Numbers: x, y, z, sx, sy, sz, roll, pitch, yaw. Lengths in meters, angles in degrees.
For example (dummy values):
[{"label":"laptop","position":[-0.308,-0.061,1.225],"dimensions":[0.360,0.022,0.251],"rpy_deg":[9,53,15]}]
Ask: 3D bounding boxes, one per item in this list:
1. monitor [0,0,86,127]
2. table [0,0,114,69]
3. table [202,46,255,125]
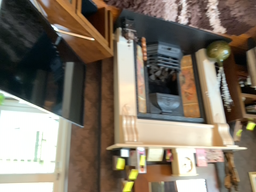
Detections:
[{"label":"monitor","position":[-0.480,-0.190,1.360],"dimensions":[0.080,0.600,0.920],"rpy_deg":[-5,160,9]},{"label":"table","position":[-0.570,-0.660,1.590],"dimensions":[0.520,0.440,1.030],"rpy_deg":[-9,159,21]},{"label":"table","position":[1.550,-0.090,2.750],"dimensions":[1.010,0.850,0.360],"rpy_deg":[6,159,-22]}]
